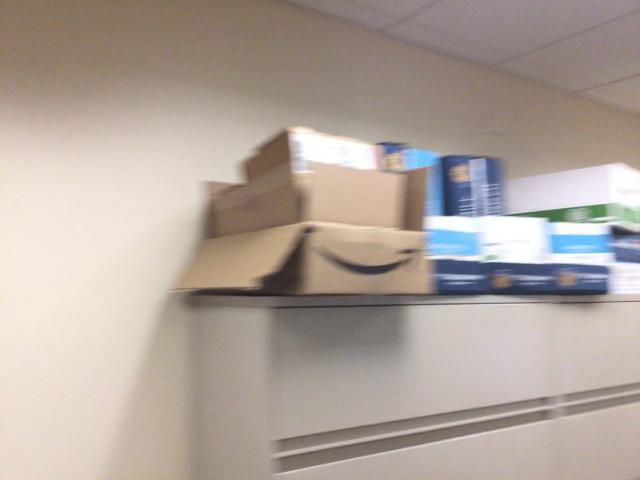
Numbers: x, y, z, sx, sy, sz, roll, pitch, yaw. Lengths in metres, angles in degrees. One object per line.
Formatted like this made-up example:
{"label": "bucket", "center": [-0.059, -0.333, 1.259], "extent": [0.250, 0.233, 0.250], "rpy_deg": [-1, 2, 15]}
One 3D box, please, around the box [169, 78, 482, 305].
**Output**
{"label": "box", "center": [-0.010, -0.070, 1.550], "extent": [0.650, 0.450, 0.520], "rpy_deg": [2, -8, -30]}

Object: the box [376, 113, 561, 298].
{"label": "box", "center": [0.460, -0.080, 1.820], "extent": [0.450, 0.500, 0.300], "rpy_deg": [2, -8, -30]}

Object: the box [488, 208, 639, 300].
{"label": "box", "center": [0.870, 0.060, 2.050], "extent": [0.450, 0.280, 0.270], "rpy_deg": [2, -8, -30]}
